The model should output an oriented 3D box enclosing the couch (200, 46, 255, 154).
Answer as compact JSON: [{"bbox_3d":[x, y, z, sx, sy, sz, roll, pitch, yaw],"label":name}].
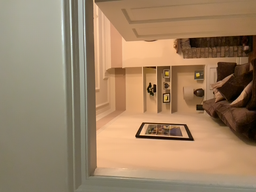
[{"bbox_3d":[1.690,-0.030,2.940,2.050,0.940,1.010,-28,-62,-80],"label":"couch"}]
